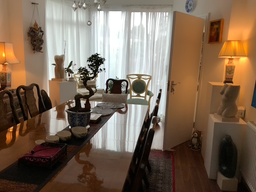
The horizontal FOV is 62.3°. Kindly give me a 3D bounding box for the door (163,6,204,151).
[{"bbox_3d":[0.850,-0.220,3.230,0.690,2.040,0.070,-8,15,-43],"label":"door"}]

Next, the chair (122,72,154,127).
[{"bbox_3d":[0.220,0.050,4.340,0.550,1.010,0.540,4,11,7],"label":"chair"}]

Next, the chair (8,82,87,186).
[{"bbox_3d":[-0.870,0.390,2.450,0.640,1.010,0.530,4,11,9],"label":"chair"}]
